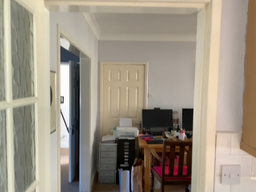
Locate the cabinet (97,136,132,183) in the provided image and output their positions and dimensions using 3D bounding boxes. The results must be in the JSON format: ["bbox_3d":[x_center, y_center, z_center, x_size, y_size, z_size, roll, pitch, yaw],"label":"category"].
[{"bbox_3d":[-0.220,1.040,3.540,0.540,0.660,0.410,1,3,-1],"label":"cabinet"}]

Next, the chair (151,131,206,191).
[{"bbox_3d":[0.620,0.970,2.740,0.530,0.930,0.520,0,3,-4],"label":"chair"}]
